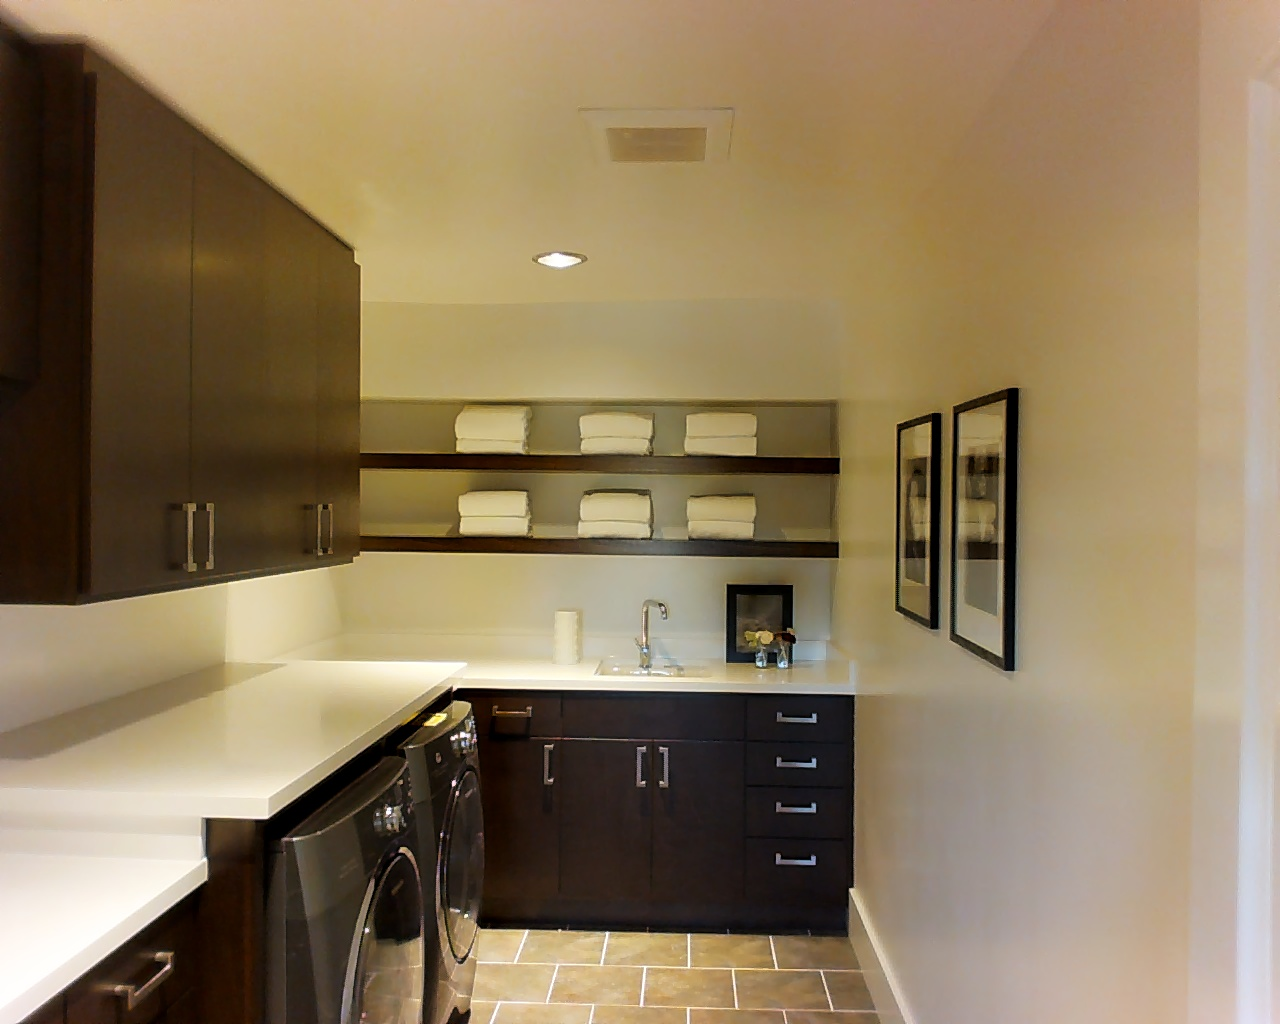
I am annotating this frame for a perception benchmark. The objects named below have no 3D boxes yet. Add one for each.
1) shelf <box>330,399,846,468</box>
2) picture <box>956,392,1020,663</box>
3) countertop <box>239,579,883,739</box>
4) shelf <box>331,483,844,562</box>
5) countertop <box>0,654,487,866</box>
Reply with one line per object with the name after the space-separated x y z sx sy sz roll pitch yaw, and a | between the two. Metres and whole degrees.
-0.220 -0.330 4.550 2.120 0.260 0.300 1 0 3 | shelf
0.730 0.030 2.270 0.020 0.520 0.410 1 0 3 | picture
-0.240 0.510 4.090 2.100 0.410 1.200 1 0 3 | countertop
-0.220 0.040 4.540 2.110 0.300 0.280 1 0 3 | shelf
-0.960 0.550 2.760 0.790 0.130 1.730 1 0 3 | countertop
